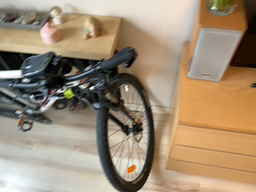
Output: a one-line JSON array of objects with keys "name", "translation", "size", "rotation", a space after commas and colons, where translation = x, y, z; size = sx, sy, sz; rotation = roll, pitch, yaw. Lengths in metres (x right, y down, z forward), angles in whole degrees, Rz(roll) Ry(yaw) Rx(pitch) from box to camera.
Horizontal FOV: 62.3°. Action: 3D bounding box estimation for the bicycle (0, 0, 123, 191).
[{"name": "bicycle", "translation": [-0.730, 0.060, 1.400], "size": [1.210, 1.030, 0.860], "rotation": [5, 56, 7]}]
